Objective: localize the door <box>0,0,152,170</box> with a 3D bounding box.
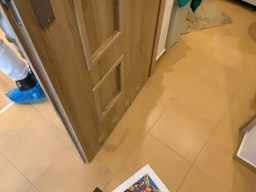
[{"bbox_3d":[-0.100,-0.390,0.480,0.080,2.000,0.650,29,61,16],"label":"door"}]
